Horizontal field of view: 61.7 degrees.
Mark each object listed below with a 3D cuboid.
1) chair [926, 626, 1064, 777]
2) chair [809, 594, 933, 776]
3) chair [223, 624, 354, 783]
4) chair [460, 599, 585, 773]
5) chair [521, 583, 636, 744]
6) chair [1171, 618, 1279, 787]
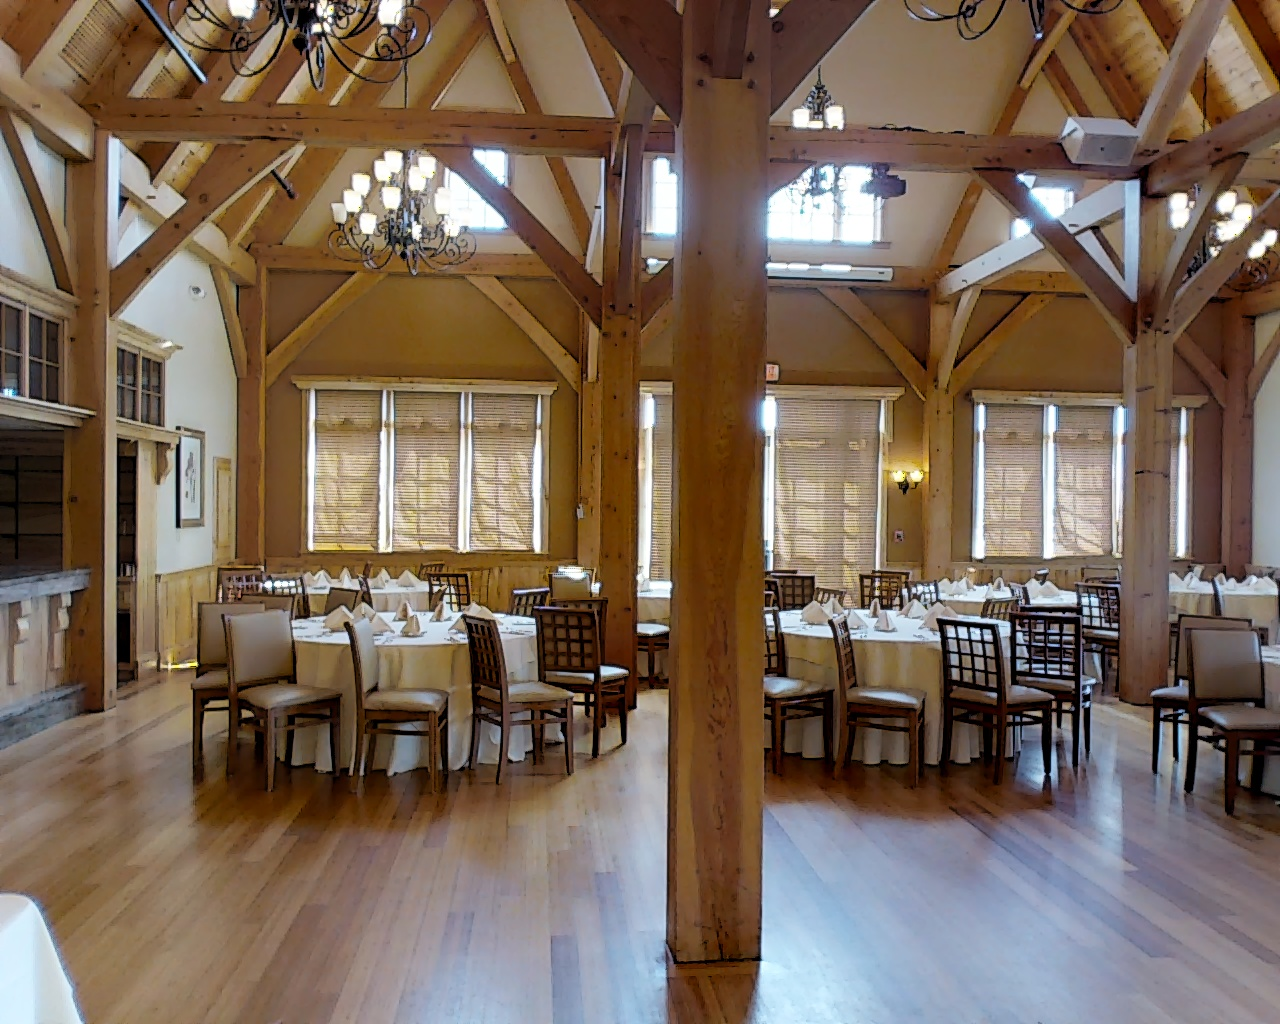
[{"bbox_3d":[2.120,1.110,6.410,0.640,0.780,0.450,0,0,-26],"label":"chair"},{"bbox_3d":[1.380,1.000,6.370,0.660,0.970,0.450,1,0,19],"label":"chair"},{"bbox_3d":[-2.010,1.070,6.140,0.450,0.780,0.550,1,1,38],"label":"chair"},{"bbox_3d":[-0.700,1.000,6.330,0.580,0.910,0.500,0,1,-28],"label":"chair"},{"bbox_3d":[-0.390,0.960,6.970,0.520,0.930,0.630,1,0,23],"label":"chair"},{"bbox_3d":[3.280,1.020,5.860,0.460,0.820,0.520,0,0,-6],"label":"chair"}]
